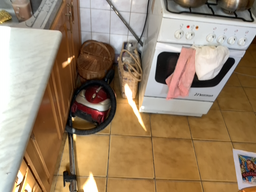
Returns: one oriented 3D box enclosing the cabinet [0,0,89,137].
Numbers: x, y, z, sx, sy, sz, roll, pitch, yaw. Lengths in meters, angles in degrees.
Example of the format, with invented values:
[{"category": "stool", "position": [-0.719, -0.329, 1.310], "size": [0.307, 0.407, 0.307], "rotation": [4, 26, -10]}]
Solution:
[{"category": "cabinet", "position": [-0.600, -0.300, 1.410], "size": [0.540, 0.790, 0.810], "rotation": [4, 48, -4]}]
